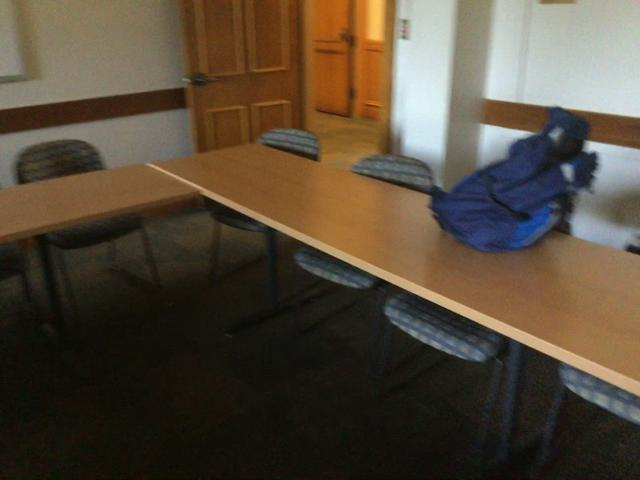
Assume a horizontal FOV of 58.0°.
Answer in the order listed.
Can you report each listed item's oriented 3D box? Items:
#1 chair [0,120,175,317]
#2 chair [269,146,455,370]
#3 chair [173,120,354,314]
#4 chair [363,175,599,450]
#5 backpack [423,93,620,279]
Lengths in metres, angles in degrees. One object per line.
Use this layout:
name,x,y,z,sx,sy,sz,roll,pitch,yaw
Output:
chair,-1.140,-0.150,2.840,0.510,0.750,0.640,-18,25,-34
chair,0.190,0.030,2.370,0.490,0.690,0.560,13,26,37
chair,-0.270,-0.160,2.900,0.630,0.740,0.570,-18,25,-34
chair,0.520,0.190,1.940,0.530,0.650,0.500,-18,25,-34
backpack,0.580,-0.190,1.680,0.420,0.410,0.410,10,24,33
